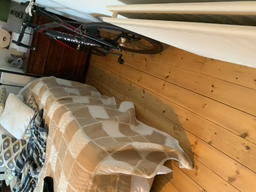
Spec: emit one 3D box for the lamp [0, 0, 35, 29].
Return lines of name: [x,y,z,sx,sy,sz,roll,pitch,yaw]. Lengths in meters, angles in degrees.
lamp: [-1.450,-1.050,2.660,0.190,0.460,0.260,25,103,53]
